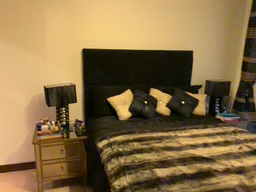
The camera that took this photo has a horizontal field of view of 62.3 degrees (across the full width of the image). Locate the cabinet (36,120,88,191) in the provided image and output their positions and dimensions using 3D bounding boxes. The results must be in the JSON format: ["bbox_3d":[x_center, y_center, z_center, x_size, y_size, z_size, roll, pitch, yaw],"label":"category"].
[{"bbox_3d":[-0.690,0.610,2.260,0.450,0.530,0.510,-2,14,-17],"label":"cabinet"}]

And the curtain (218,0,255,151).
[{"bbox_3d":[1.530,-0.370,2.760,0.180,2.160,0.410,-2,14,-16],"label":"curtain"}]
